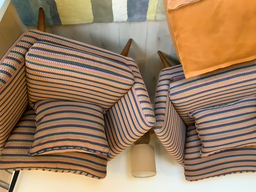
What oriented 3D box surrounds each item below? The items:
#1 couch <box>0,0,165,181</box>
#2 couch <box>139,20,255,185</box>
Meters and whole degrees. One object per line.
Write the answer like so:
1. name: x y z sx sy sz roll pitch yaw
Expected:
1. couch: -0.390 0.030 1.390 0.860 0.780 0.780 13 143 -22
2. couch: 0.640 0.120 1.590 0.860 0.800 0.810 -13 144 15
